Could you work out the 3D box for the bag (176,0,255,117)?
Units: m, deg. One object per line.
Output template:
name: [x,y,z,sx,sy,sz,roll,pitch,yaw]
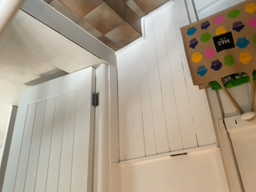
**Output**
bag: [0.510,-0.220,1.050,0.420,0.540,0.170,-19,151,30]
